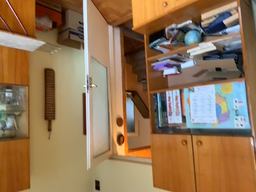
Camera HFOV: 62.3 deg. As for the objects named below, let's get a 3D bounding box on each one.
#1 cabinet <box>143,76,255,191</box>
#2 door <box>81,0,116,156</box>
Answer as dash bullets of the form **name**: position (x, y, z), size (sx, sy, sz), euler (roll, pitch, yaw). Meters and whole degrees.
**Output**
- **cabinet**: position (0.650, 0.380, 1.860), size (0.920, 0.920, 0.440), euler (-8, 172, 42)
- **door**: position (-0.370, -0.280, 2.830), size (0.150, 1.940, 0.900), euler (-4, 174, 8)
